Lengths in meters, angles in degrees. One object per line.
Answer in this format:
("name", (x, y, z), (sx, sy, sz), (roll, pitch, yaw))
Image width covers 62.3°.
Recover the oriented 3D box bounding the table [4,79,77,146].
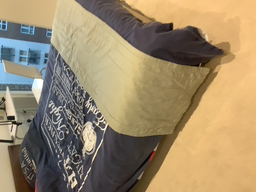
("table", (-1.290, 0.190, 3.060), (0.840, 0.750, 0.490), (46, 125, 42))
